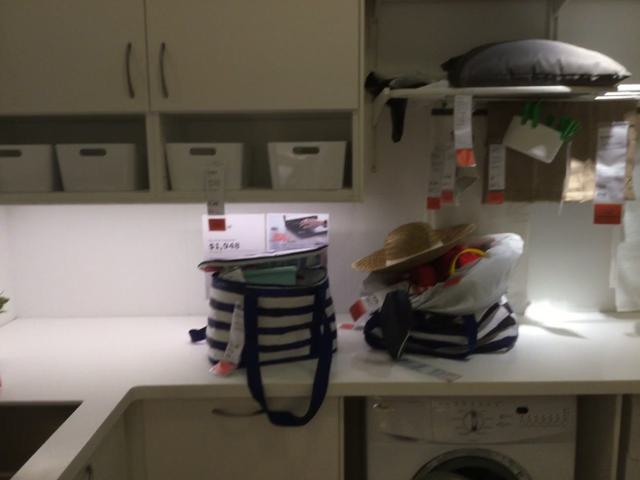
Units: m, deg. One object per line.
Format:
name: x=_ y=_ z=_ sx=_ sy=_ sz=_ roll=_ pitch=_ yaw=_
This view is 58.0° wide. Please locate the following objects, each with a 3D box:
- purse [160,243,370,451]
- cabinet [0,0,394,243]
purse: x=-0.120 y=0.280 z=1.660 sx=0.480 sy=0.440 sz=0.420 roll=-6 pitch=8 yaw=6
cabinet: x=-0.500 y=-0.600 z=1.810 sx=1.250 sy=0.970 sz=0.440 roll=-12 pitch=6 yaw=3
